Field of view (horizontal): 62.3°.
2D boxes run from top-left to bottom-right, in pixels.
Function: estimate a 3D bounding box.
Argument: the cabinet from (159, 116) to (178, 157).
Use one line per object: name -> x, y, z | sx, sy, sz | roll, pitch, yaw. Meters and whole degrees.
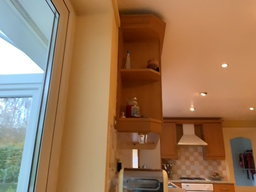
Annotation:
cabinet -> 0.920, 0.930, 4.880 | 0.350, 0.900, 0.320 | -1, -18, 5
